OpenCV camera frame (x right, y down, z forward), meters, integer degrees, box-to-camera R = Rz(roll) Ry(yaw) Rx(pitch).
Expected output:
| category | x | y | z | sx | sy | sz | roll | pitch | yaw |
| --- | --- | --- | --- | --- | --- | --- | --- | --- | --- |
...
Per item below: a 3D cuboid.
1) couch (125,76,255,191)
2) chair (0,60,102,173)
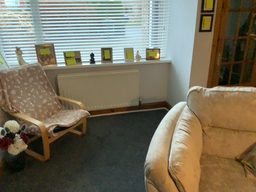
| category | x | y | z | sx | sy | sz | roll | pitch | yaw |
| --- | --- | --- | --- | --- | --- | --- | --- | --- | --- |
| couch | 0.710 | 0.490 | 1.650 | 1.190 | 0.940 | 1.040 | 7 | 23 | 16 |
| chair | -0.970 | 0.150 | 2.570 | 1.020 | 0.920 | 0.750 | 14 | 26 | 31 |
